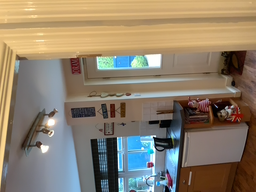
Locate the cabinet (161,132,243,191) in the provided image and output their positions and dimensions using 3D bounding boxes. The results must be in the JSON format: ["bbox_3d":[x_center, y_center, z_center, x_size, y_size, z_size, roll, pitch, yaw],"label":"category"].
[{"bbox_3d":[1.060,1.240,3.310,0.650,0.920,1.080,-105,13,-67],"label":"cabinet"}]

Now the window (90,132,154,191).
[{"bbox_3d":[-0.080,1.460,3.860,0.090,1.060,1.760,-105,12,-65],"label":"window"}]
